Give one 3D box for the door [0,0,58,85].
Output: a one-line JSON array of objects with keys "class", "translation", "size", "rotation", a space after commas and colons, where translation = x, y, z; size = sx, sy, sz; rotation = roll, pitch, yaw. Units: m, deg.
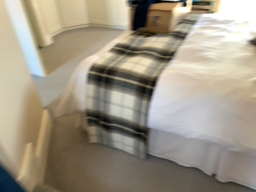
[{"class": "door", "translation": [-1.330, -1.090, 2.180], "size": [0.750, 2.070, 0.160], "rotation": [13, 40, 23]}]
